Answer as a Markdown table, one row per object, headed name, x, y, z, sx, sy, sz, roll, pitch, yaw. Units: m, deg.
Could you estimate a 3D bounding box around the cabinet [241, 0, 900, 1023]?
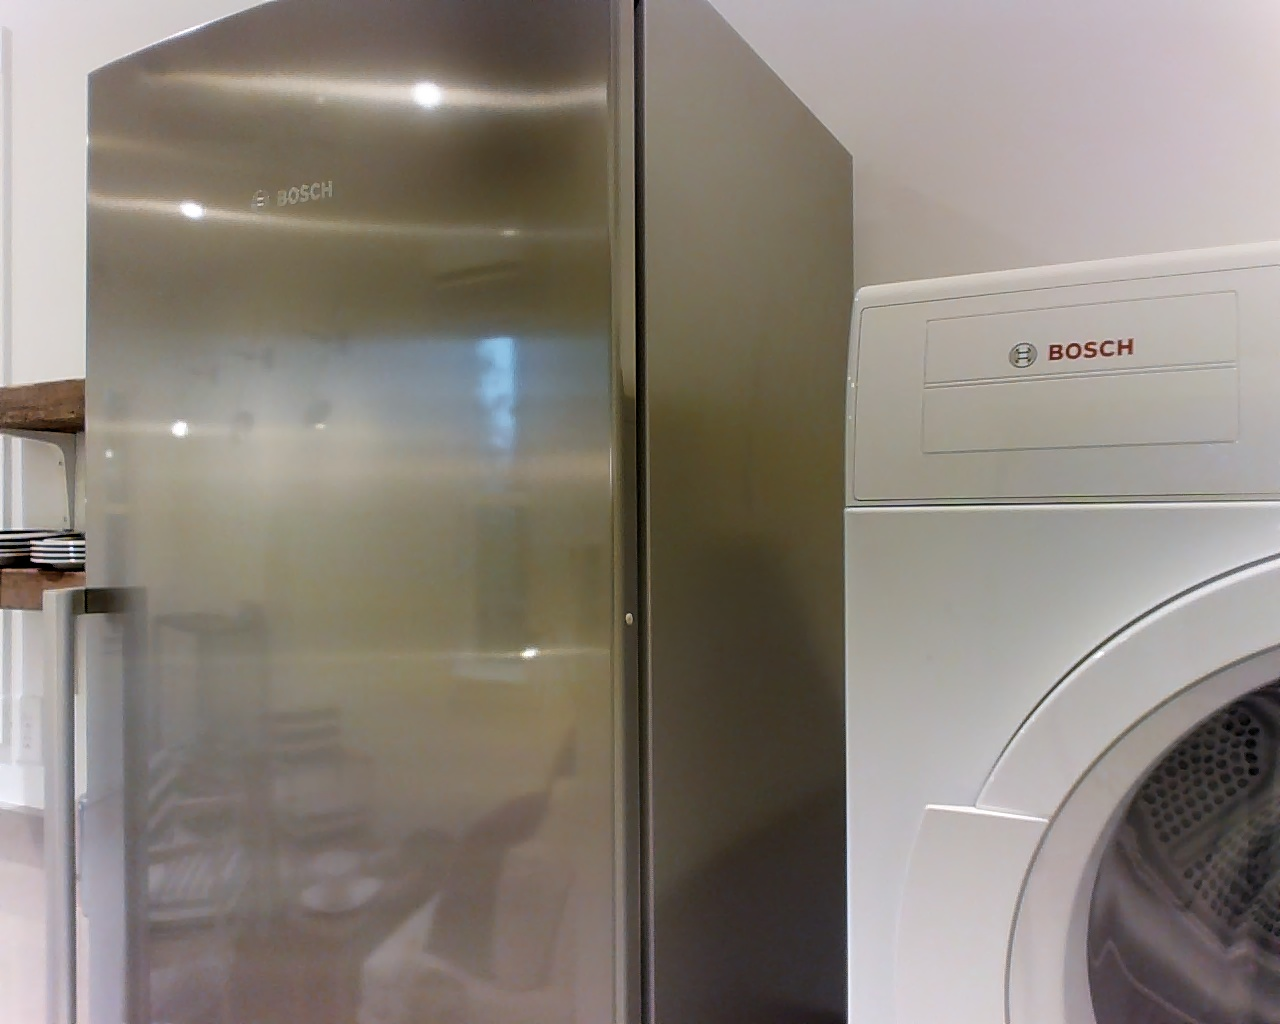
| name | x | y | z | sx | sy | sz | roll | pitch | yaw |
| --- | --- | --- | --- | --- | --- | --- | --- | --- | --- |
| cabinet | 0.000 | 0.530 | 1.070 | 0.340 | 2.050 | 0.690 | -1 | -1 | 28 |
